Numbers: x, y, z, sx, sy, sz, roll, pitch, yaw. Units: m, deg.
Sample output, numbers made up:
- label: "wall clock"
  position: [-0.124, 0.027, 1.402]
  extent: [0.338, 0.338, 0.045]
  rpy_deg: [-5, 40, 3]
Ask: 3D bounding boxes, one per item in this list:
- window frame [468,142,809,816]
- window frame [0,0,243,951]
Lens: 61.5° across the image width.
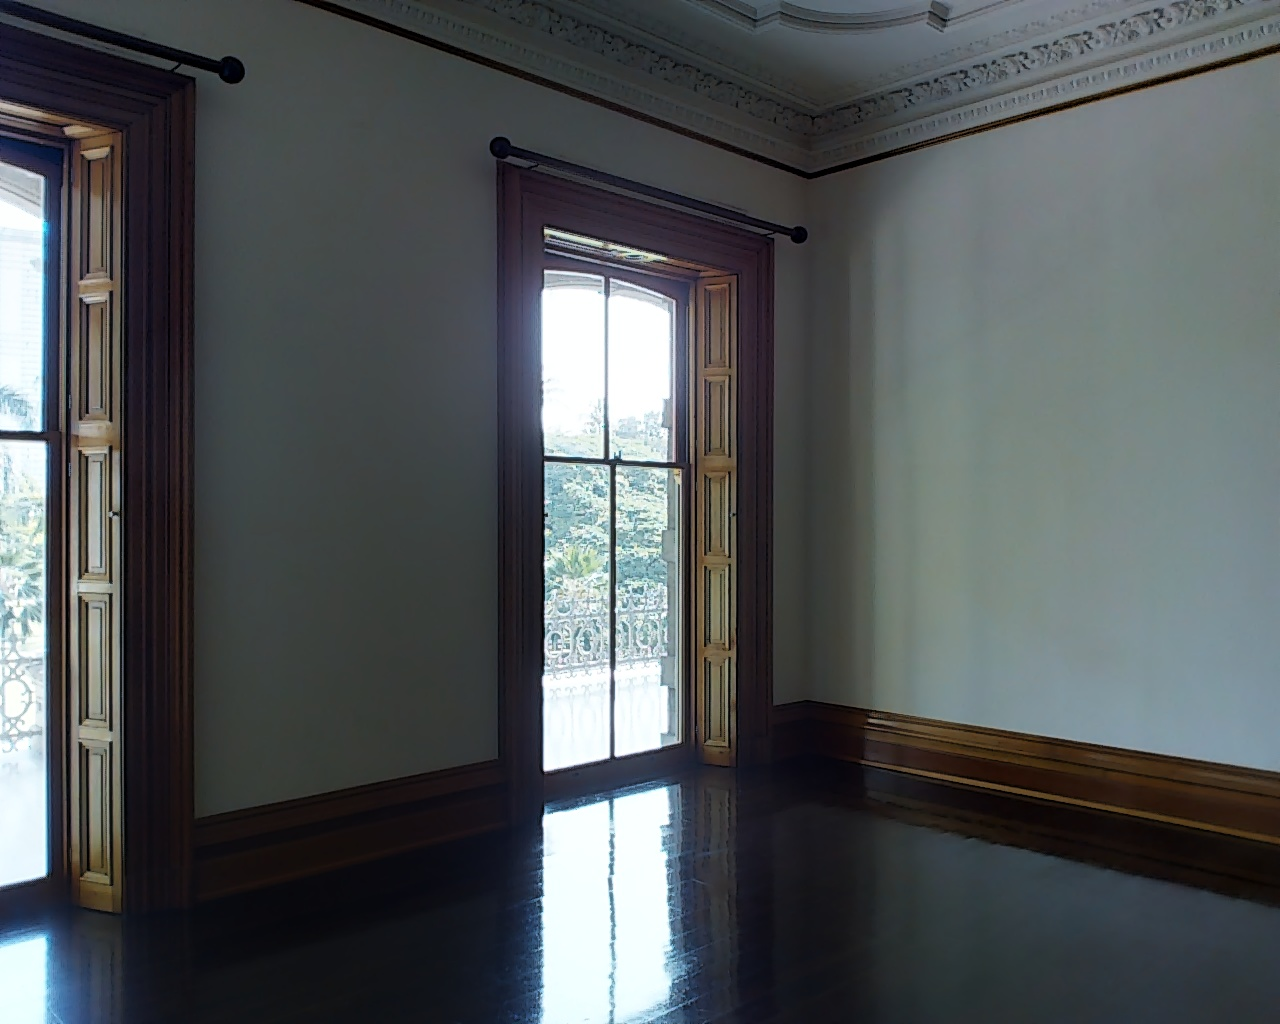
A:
- label: "window frame"
  position: [0.080, -0.160, 6.340]
  extent: [2.200, 3.390, 0.520]
  rpy_deg: [1, 0, -42]
- label: "window frame"
  position: [-2.620, -0.180, 3.800]
  extent: [2.200, 3.430, 0.570]
  rpy_deg: [1, 0, -42]
